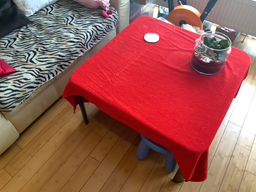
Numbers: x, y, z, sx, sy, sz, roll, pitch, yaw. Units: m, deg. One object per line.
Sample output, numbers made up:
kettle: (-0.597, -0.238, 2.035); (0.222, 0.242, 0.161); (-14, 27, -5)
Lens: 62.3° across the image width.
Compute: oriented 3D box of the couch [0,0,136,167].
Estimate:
couch: (-0.740, -0.480, 1.560); (0.950, 0.730, 1.480); (28, 57, 19)
